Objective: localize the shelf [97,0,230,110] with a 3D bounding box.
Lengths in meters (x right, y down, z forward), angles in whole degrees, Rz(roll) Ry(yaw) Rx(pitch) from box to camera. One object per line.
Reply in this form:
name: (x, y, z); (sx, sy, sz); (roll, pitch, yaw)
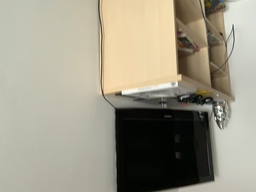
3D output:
shelf: (0.300, -0.330, 1.480); (0.500, 0.750, 0.940); (-8, 168, 37)
